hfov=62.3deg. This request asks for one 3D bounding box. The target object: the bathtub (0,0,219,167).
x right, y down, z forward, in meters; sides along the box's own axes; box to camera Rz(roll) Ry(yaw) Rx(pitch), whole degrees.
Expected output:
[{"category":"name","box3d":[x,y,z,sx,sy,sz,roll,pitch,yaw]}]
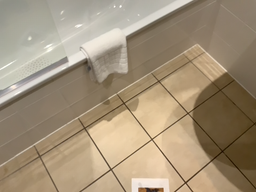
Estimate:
[{"category":"bathtub","box3d":[-0.330,-0.340,1.310,1.670,0.530,0.690,-32,68,-17]}]
